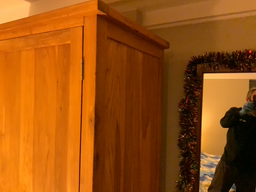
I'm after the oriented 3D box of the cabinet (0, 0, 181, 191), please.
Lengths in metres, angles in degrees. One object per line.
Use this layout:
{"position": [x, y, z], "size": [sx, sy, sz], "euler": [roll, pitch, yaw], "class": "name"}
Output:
{"position": [-0.260, 0.630, 1.040], "size": [0.750, 1.900, 0.690], "euler": [3, 1, 30], "class": "cabinet"}
